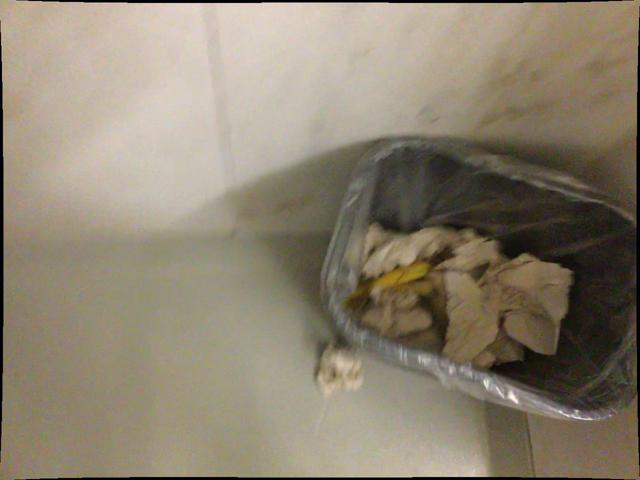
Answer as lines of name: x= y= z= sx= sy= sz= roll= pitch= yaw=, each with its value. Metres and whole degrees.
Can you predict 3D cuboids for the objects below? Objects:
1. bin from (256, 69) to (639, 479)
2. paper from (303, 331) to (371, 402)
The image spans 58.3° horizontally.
bin: x=0.180 y=0.090 z=0.900 sx=0.440 sy=0.360 sz=0.460 roll=23 pitch=-18 yaw=0
paper: x=0.030 y=0.240 z=1.080 sx=0.090 sy=0.100 sz=0.100 roll=19 pitch=-18 yaw=-2
